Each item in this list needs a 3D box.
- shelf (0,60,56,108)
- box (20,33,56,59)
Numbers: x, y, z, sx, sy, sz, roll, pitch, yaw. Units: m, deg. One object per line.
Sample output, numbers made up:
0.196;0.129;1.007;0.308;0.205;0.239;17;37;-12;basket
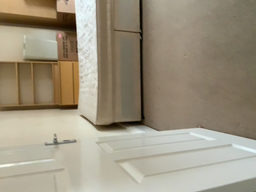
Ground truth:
-1.910;-0.230;3.940;0.310;1.070;0.830;-166;76;-67;shelf
-1.670;-0.920;3.960;0.330;0.590;0.380;-174;83;-68;box
